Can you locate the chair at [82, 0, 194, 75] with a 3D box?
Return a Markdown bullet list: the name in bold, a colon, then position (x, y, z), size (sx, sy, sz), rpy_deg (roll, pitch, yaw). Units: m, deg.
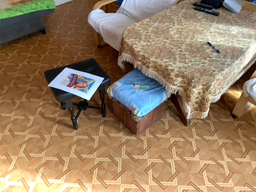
- **chair**: position (0.120, -0.920, 2.150), size (0.680, 0.890, 0.920), rpy_deg (34, 53, 29)
